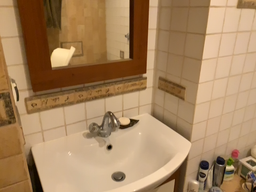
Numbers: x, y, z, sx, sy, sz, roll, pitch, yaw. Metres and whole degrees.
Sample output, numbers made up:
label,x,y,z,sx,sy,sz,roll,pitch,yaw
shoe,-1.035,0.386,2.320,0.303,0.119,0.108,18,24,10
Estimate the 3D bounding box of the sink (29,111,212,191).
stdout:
label,x,y,z,sx,sy,sz,roll,pitch,yaw
sink,-0.040,0.300,0.960,0.670,0.160,0.440,-12,26,-28
